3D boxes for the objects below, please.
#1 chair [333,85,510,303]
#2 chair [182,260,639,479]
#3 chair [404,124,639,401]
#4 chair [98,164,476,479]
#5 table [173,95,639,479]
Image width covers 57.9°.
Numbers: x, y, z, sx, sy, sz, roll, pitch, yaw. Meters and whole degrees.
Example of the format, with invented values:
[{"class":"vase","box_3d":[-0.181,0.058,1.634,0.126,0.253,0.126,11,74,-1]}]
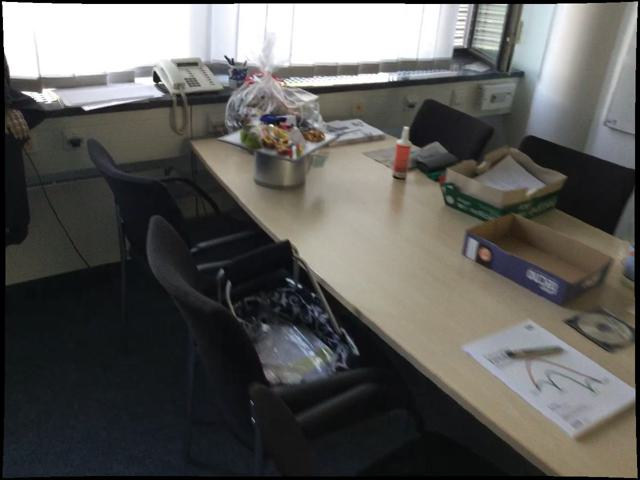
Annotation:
[{"class":"chair","box_3d":[0.390,-0.210,2.430,0.480,0.721,0.440,-14,34,-27]},{"class":"chair","box_3d":[0.190,0.581,1.100,0.690,0.781,0.540,-14,34,-27]},{"class":"chair","box_3d":[0.699,0.050,2.060,0.490,0.721,0.520,-18,36,-31]},{"class":"chair","box_3d":[-0.120,0.320,1.490,0.630,0.761,0.630,-14,34,-27]},{"class":"table","box_3d":[0.360,0.270,1.820,0.909,0.721,2.280,-14,35,-27]}]
